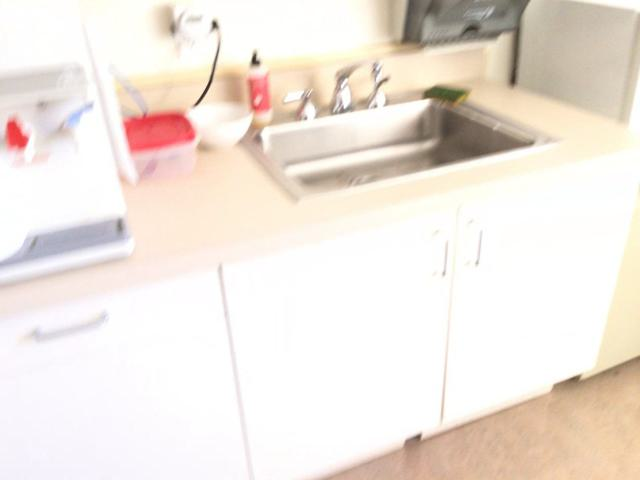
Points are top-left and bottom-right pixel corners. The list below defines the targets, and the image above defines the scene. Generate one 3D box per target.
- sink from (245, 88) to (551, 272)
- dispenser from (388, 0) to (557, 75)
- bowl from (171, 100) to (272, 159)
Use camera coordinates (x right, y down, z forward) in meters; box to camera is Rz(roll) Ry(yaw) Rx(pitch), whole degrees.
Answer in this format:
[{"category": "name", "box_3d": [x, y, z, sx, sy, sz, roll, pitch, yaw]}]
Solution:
[{"category": "sink", "box_3d": [0.150, -0.180, 1.370, 0.520, 0.200, 0.490, -12, 30, -20]}, {"category": "dispenser", "box_3d": [0.390, -0.630, 1.480, 0.340, 0.330, 0.240, -12, 30, -20]}, {"category": "bowl", "box_3d": [-0.230, -0.260, 1.330, 0.180, 0.060, 0.200, -12, 30, -20]}]
